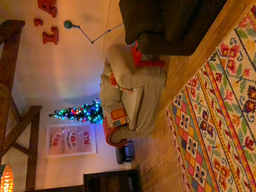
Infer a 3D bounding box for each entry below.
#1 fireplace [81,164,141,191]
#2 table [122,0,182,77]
[{"bbox_3d":[-0.370,1.760,4.280,0.530,1.070,0.530,116,150,-57],"label":"fireplace"},{"bbox_3d":[0.280,-0.850,3.060,0.810,0.470,0.790,112,153,-53],"label":"table"}]
